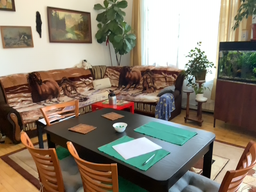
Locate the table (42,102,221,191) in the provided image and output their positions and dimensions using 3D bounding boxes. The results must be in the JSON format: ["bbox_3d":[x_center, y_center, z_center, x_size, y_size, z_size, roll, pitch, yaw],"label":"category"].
[{"bbox_3d":[0.000,0.640,1.980,1.340,0.790,0.890,10,18,39],"label":"table"}]
